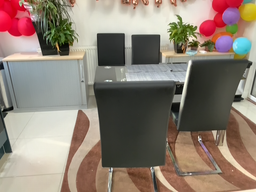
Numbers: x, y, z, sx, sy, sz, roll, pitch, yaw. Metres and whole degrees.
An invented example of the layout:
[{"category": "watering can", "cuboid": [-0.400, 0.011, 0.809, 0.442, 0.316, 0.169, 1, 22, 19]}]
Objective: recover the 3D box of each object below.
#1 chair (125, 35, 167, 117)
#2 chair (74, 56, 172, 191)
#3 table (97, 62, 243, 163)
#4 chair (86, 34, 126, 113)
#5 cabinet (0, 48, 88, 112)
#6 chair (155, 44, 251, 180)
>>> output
[{"category": "chair", "cuboid": [0.210, -0.300, 2.890, 0.440, 0.960, 0.610, -2, 22, -5]}, {"category": "chair", "cuboid": [-0.010, 0.280, 1.480, 0.460, 0.990, 0.650, 0, 22, 2]}, {"category": "table", "cuboid": [0.330, 0.110, 2.200, 1.210, 0.740, 0.730, -2, 22, -5]}, {"category": "chair", "cuboid": [-0.300, -0.350, 3.040, 0.470, 0.960, 0.650, -2, 22, -5]}, {"category": "cabinet", "cuboid": [-1.130, -0.250, 3.040, 1.000, 0.760, 0.520, -2, 22, -5]}, {"category": "chair", "cuboid": [0.560, 0.110, 1.850, 0.470, 1.000, 0.570, -4, 23, -8]}]
